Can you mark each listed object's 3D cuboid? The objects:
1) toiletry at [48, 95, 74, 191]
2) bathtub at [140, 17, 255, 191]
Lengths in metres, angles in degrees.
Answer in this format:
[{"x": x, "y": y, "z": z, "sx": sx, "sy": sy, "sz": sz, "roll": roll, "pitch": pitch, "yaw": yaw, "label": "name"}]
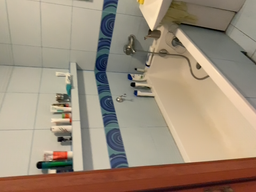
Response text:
[{"x": -0.460, "y": 0.300, "z": 1.460, "sx": 0.850, "sy": 0.130, "sz": 0.100, "roll": -110, "pitch": 28, "yaw": -48, "label": "toiletry"}, {"x": 0.670, "y": 0.030, "z": 1.700, "sx": 1.580, "sy": 0.580, "sz": 0.690, "roll": -110, "pitch": 28, "yaw": -47, "label": "bathtub"}]
